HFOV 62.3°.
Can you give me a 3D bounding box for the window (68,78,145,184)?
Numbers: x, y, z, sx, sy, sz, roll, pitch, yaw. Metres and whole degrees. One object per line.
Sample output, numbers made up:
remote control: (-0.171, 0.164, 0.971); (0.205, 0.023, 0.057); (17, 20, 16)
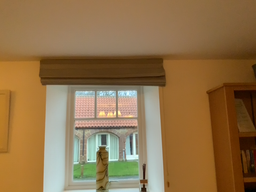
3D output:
window: (-0.240, 0.380, 2.450); (0.830, 1.160, 0.130); (-1, -10, -2)
